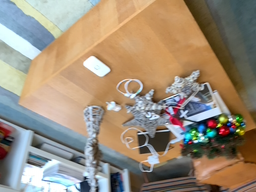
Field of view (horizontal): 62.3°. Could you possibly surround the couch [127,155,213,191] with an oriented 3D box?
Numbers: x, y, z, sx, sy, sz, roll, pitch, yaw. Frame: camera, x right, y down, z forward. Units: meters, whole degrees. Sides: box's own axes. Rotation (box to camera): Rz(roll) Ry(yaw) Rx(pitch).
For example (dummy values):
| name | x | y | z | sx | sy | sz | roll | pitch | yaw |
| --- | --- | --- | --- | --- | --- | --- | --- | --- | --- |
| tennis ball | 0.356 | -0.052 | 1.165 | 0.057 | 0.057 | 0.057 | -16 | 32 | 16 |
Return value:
| name | x | y | z | sx | sy | sz | roll | pitch | yaw |
| --- | --- | --- | --- | --- | --- | --- | --- | --- | --- |
| couch | 0.520 | 1.300 | 2.520 | 0.860 | 0.790 | 0.820 | -10 | 140 | 6 |
